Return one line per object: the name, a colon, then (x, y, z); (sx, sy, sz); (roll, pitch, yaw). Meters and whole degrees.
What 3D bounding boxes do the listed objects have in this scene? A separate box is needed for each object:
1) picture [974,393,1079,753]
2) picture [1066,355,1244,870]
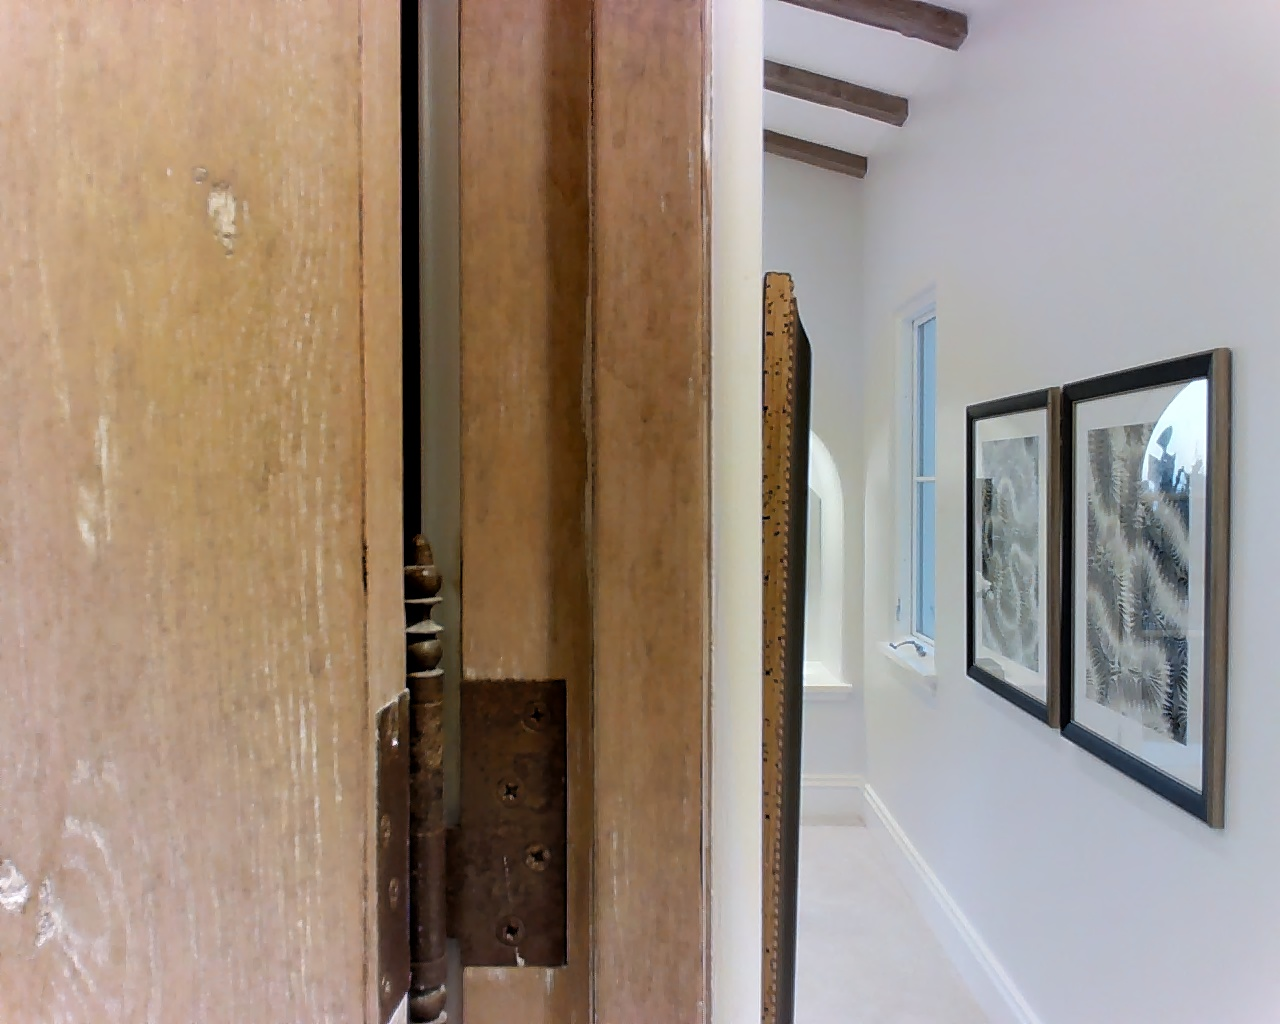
picture: (1.130, 0.150, 3.190); (0.040, 0.940, 0.790); (-1, 2, 1)
picture: (1.110, 0.180, 2.380); (0.040, 0.960, 0.770); (-1, 2, 1)
